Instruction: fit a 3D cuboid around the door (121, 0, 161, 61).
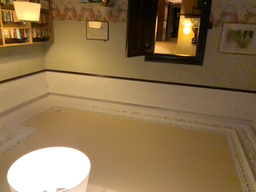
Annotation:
[{"bbox_3d":[0.310,-1.850,4.100,0.070,2.230,1.130,17,-157,36],"label":"door"}]
